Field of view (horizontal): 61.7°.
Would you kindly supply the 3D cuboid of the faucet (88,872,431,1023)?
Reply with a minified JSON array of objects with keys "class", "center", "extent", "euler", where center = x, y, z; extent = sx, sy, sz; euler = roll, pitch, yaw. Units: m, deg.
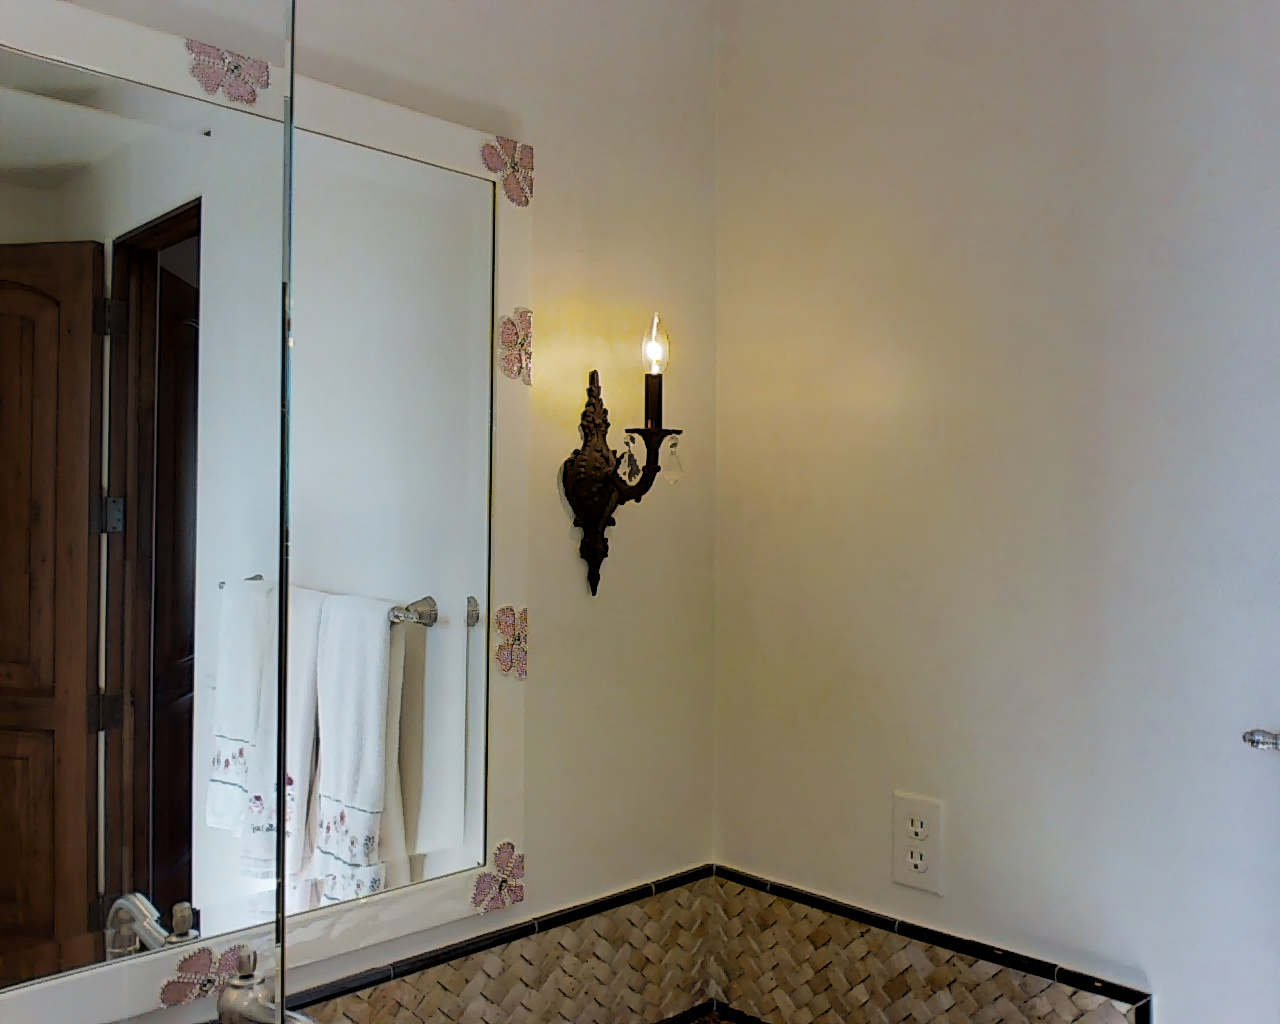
[{"class":"faucet","center":[-0.340,0.540,0.980],"extent":[0.120,0.330,0.270],"euler":[0,-1,43]}]
